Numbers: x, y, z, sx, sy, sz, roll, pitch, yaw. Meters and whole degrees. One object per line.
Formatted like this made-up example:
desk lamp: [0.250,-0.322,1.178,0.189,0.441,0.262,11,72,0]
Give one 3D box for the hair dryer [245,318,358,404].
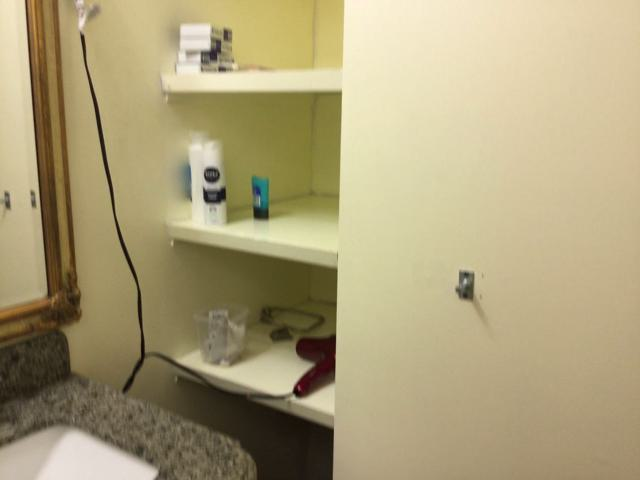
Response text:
hair dryer: [-0.040,0.280,1.380,0.180,0.100,0.210,9,13,31]
